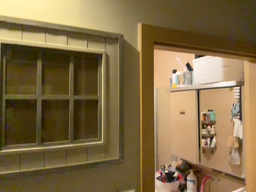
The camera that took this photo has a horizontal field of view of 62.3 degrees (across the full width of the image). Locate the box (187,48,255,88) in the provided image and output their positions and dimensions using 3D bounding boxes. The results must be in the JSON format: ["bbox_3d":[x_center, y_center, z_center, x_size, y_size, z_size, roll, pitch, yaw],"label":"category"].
[{"bbox_3d":[0.740,-0.200,1.710,0.320,0.240,0.400,1,-2,-29],"label":"box"}]
